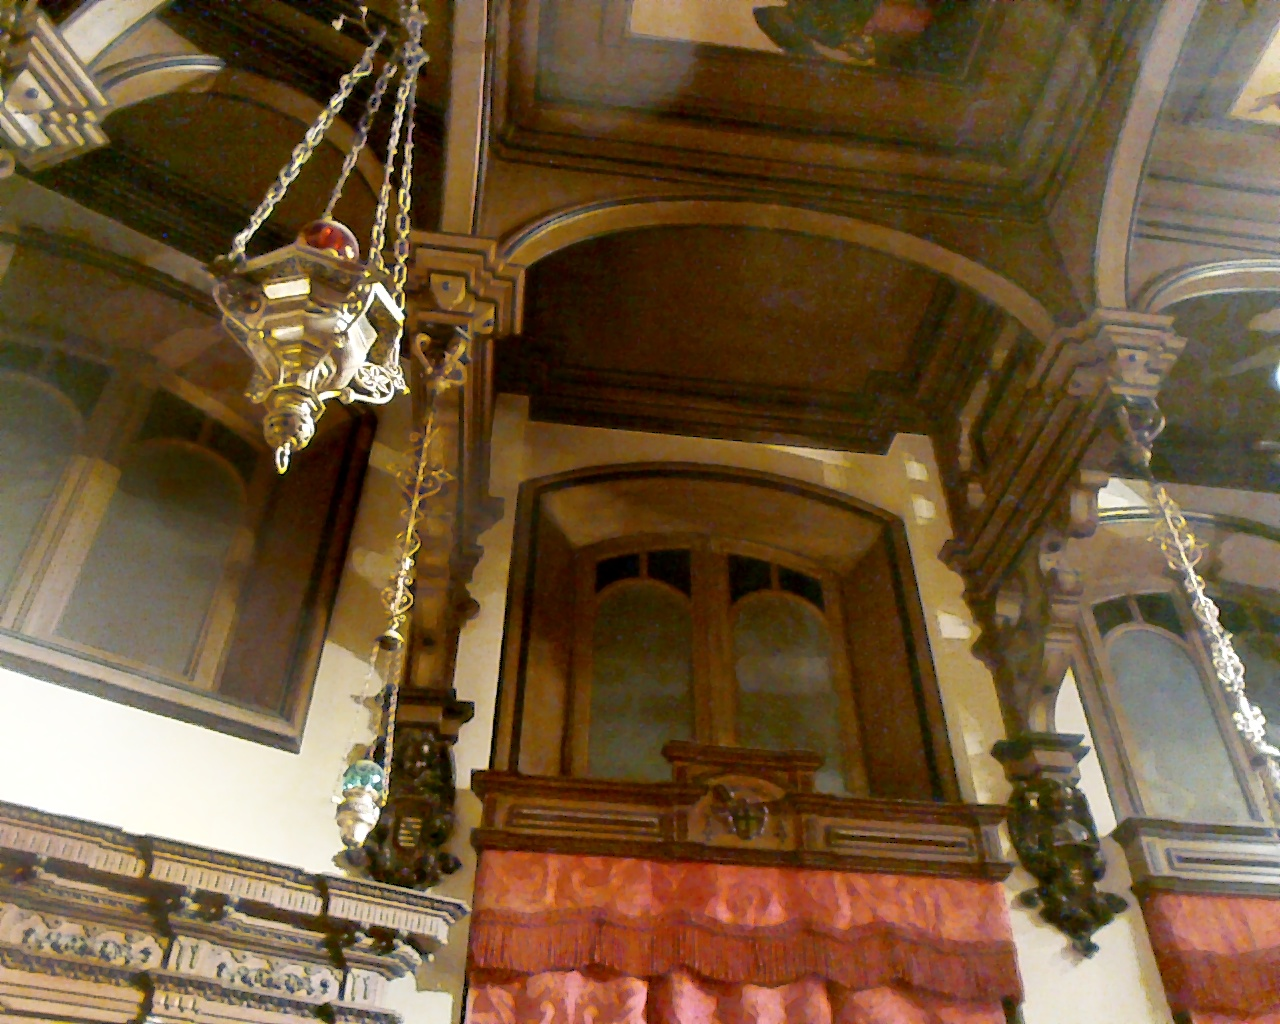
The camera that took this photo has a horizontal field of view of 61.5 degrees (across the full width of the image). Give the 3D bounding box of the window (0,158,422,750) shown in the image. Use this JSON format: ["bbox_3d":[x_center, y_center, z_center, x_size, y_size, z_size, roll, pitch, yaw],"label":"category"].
[{"bbox_3d":[-1.699,-0.270,3.640,1.680,1.830,0.220,20,-45,-22],"label":"window"}]

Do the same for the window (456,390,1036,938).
[{"bbox_3d":[0.350,0.470,4.260,1.879,2.200,0.300,5,-41,-5],"label":"window"}]

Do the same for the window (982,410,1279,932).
[{"bbox_3d":[2.579,0.570,4.450,1.809,2.190,0.400,5,-41,-5],"label":"window"}]
